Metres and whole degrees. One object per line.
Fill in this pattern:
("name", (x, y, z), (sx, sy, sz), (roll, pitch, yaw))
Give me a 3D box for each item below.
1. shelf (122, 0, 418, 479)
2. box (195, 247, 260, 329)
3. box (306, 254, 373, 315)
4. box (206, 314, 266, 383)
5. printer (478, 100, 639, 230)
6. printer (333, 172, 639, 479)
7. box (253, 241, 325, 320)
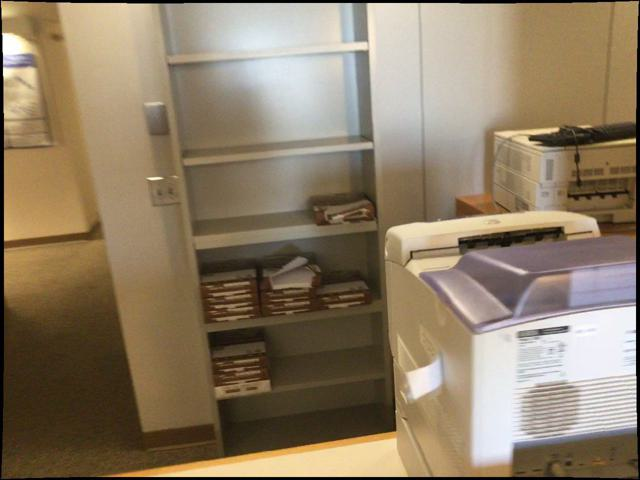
("shelf", (-0.130, -0.040, 2.270), (0.838, 1.934, 0.410), (-8, 19, -6))
("box", (-0.359, 0.180, 2.260), (0.210, 0.200, 0.280), (-8, 19, -6))
("box", (0.070, 0.170, 2.300), (0.210, 0.100, 0.310), (-8, 19, -6))
("box", (-0.339, 0.431, 2.340), (0.210, 0.120, 0.290), (-8, 19, -6))
("printer", (0.888, -0.291, 2.050), (0.449, 0.311, 0.540), (-8, 19, -6))
("printer", (0.369, 0.261, 1.120), (0.529, 0.601, 0.650), (-8, 19, -6))
("box", (-0.130, 0.150, 2.280), (0.239, 0.180, 0.300), (-8, 19, -6))
